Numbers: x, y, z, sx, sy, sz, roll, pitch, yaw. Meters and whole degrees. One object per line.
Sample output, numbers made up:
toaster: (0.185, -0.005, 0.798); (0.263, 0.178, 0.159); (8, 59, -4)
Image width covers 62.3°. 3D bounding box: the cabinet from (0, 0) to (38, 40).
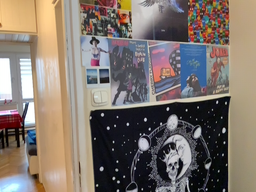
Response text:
cabinet: (-1.470, -0.960, 2.350); (0.800, 0.550, 0.380); (-5, 6, -31)
